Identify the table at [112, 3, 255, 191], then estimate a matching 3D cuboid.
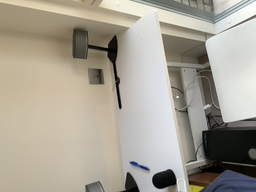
[{"bbox_3d":[0.370,0.030,1.190,0.390,0.740,0.790,-21,73,55],"label":"table"}]
